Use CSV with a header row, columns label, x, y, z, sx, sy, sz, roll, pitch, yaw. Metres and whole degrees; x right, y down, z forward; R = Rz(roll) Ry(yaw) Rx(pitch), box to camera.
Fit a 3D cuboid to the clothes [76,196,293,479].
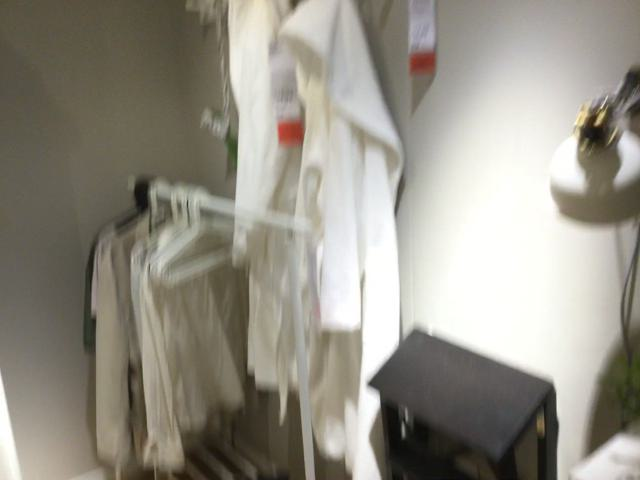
label,x,y,z,sx,sy,sz,roll,pitch,yaw
clothes,-0.420,0.330,1.910,0.560,0.880,0.260,-11,14,-37
